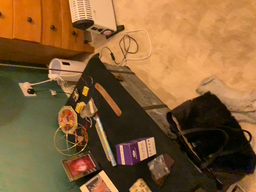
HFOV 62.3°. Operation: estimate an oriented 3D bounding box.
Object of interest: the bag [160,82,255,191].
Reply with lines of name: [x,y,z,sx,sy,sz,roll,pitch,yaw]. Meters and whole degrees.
bag: [0.420,0.210,1.110,0.470,0.270,0.220,45,118,-10]
